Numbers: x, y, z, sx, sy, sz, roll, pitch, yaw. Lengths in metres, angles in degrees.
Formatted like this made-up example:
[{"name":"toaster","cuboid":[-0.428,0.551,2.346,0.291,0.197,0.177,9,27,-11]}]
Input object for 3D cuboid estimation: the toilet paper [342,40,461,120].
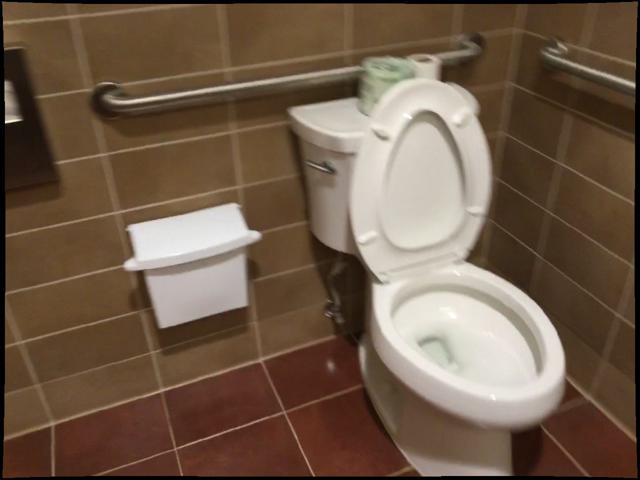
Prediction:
[{"name":"toilet paper","cuboid":[0.190,-0.390,1.390,0.220,0.110,0.180,-14,34,-17]}]
